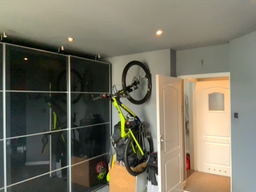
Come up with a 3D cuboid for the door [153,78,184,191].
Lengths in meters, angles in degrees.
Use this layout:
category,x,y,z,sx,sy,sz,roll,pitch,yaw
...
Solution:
category,x,y,z,sx,sy,sz,roll,pitch,yaw
door,0.700,0.750,3.540,0.090,2.040,0.950,-1,0,37
